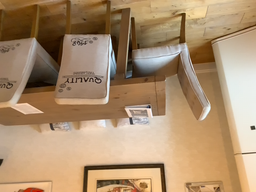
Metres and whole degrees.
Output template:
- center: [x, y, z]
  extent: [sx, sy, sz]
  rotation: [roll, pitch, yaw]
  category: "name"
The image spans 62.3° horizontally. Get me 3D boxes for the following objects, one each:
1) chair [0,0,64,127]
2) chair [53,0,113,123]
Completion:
- center: [-0.920, -0.280, 1.870]
  extent: [0.390, 0.960, 0.590]
  rotation: [-6, 158, 10]
  category: "chair"
- center: [-0.330, -0.310, 1.850]
  extent: [0.380, 0.960, 0.590]
  rotation: [-1, 159, -3]
  category: "chair"
